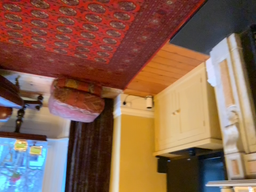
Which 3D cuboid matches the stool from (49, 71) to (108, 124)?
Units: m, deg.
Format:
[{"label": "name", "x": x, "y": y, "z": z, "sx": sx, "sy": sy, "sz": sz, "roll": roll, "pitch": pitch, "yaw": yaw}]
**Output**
[{"label": "stool", "x": -0.720, "y": 0.060, "z": 3.020, "sx": 0.680, "sy": 0.450, "sz": 0.700, "roll": 9, "pitch": 156, "yaw": -18}]
